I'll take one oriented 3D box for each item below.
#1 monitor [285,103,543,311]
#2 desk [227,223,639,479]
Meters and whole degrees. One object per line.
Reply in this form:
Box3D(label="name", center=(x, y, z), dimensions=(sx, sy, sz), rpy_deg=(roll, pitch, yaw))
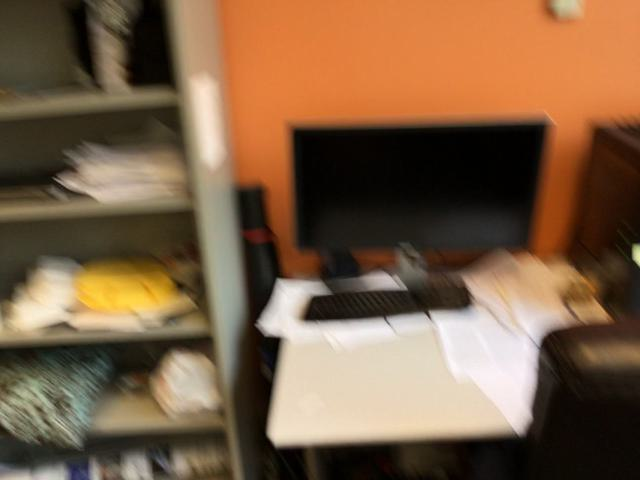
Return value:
Box3D(label="monitor", center=(0.230, -0.100, 1.560), dimensions=(0.600, 0.500, 0.240), rpy_deg=(1, 21, 6))
Box3D(label="desk", center=(0.330, 0.490, 1.570), dimensions=(0.980, 0.830, 0.840), rpy_deg=(-1, 21, 0))
